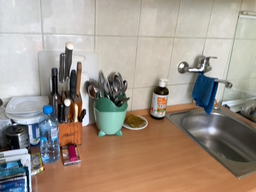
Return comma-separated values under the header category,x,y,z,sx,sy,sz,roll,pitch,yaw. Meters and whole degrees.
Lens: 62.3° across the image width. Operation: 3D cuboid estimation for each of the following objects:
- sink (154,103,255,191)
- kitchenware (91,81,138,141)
category,x,y,z,sx,sy,sz,roll,pitch,yaw
sink,0.450,0.240,1.080,0.400,0.170,0.520,-6,25,-24
kitchenware,-0.070,0.060,0.960,0.160,0.210,0.150,-6,25,-24
